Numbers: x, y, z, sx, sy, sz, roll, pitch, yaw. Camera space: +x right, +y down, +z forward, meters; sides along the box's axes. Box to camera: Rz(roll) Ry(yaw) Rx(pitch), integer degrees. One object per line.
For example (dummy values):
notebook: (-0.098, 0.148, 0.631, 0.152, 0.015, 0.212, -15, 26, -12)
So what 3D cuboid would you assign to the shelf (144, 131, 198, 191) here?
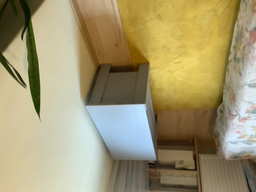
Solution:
shelf: (0.440, 0.760, 2.200, 0.500, 0.810, 0.160, -1, 140, 12)
